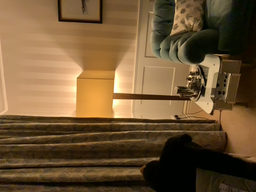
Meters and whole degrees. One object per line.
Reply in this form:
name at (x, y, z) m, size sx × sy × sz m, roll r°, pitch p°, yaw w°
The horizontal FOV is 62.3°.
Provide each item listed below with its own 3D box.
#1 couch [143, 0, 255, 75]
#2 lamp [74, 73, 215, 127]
couch at (0.780, -1.570, 2.120) m, size 1.210 × 0.880 × 2.470 m, roll -106°, pitch 19°, yaw -72°
lamp at (0.190, 0.040, 2.950) m, size 0.580 × 1.750 × 0.560 m, roll -110°, pitch 23°, yaw -75°
